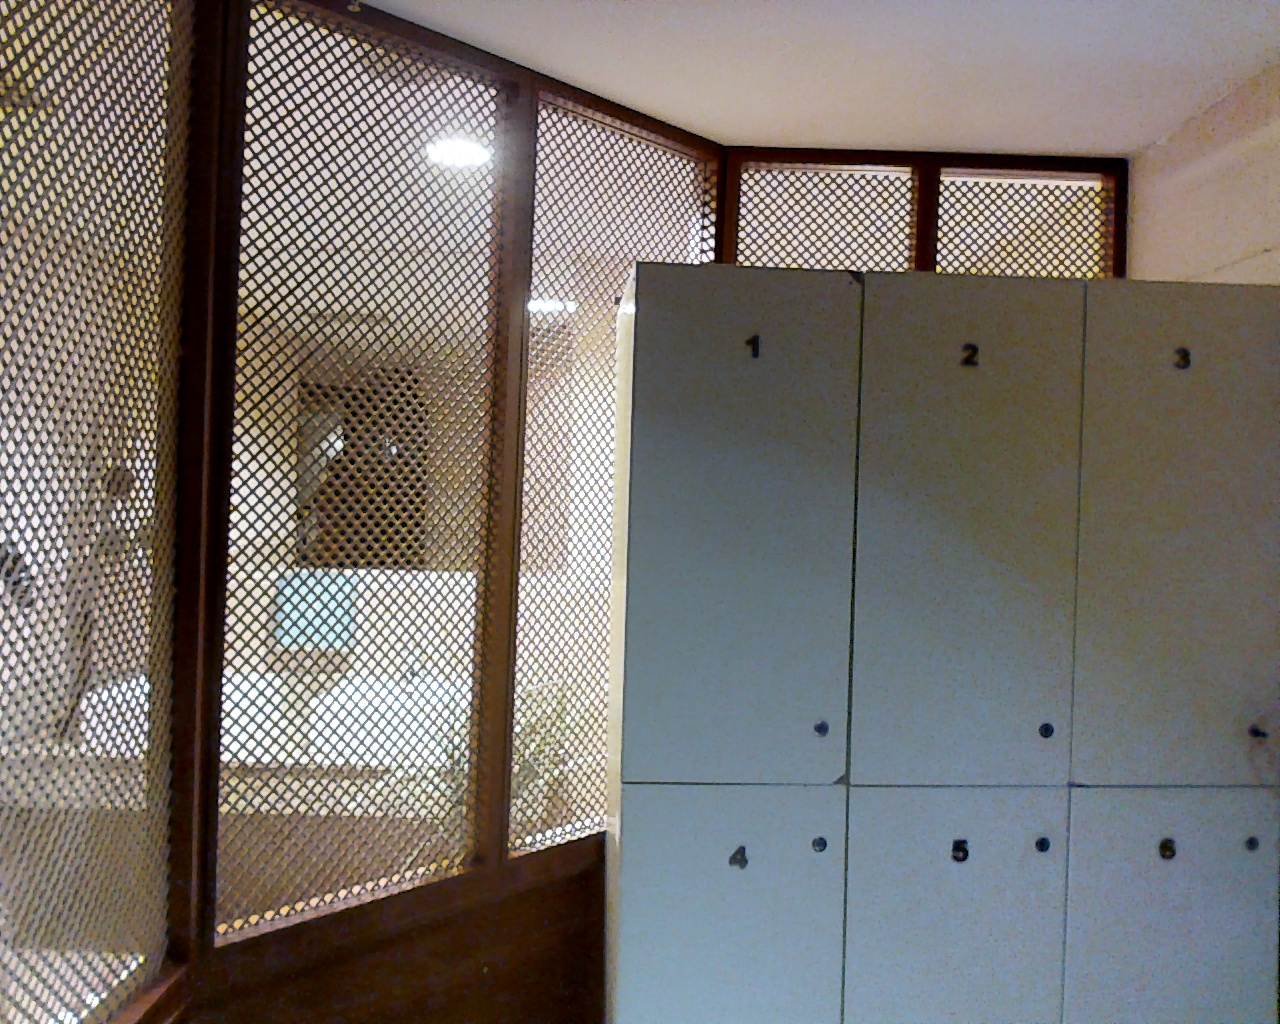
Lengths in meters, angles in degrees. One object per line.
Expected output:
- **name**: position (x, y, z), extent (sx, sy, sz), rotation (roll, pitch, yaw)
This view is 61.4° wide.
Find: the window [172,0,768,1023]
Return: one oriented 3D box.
- **window**: position (-0.240, 0.020, 2.240), extent (0.180, 1.740, 1.340), rotation (2, 1, 44)
